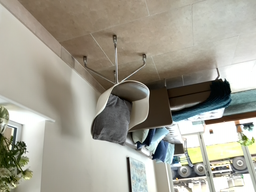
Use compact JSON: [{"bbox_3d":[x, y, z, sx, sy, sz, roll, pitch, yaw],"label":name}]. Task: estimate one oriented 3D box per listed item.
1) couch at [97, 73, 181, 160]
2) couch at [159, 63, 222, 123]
[{"bbox_3d":[0.410,0.650,4.030,0.890,0.750,2.890,-11,156,13],"label":"couch"},{"bbox_3d":[0.900,0.020,3.100,0.690,0.420,0.980,-11,156,13],"label":"couch"}]
